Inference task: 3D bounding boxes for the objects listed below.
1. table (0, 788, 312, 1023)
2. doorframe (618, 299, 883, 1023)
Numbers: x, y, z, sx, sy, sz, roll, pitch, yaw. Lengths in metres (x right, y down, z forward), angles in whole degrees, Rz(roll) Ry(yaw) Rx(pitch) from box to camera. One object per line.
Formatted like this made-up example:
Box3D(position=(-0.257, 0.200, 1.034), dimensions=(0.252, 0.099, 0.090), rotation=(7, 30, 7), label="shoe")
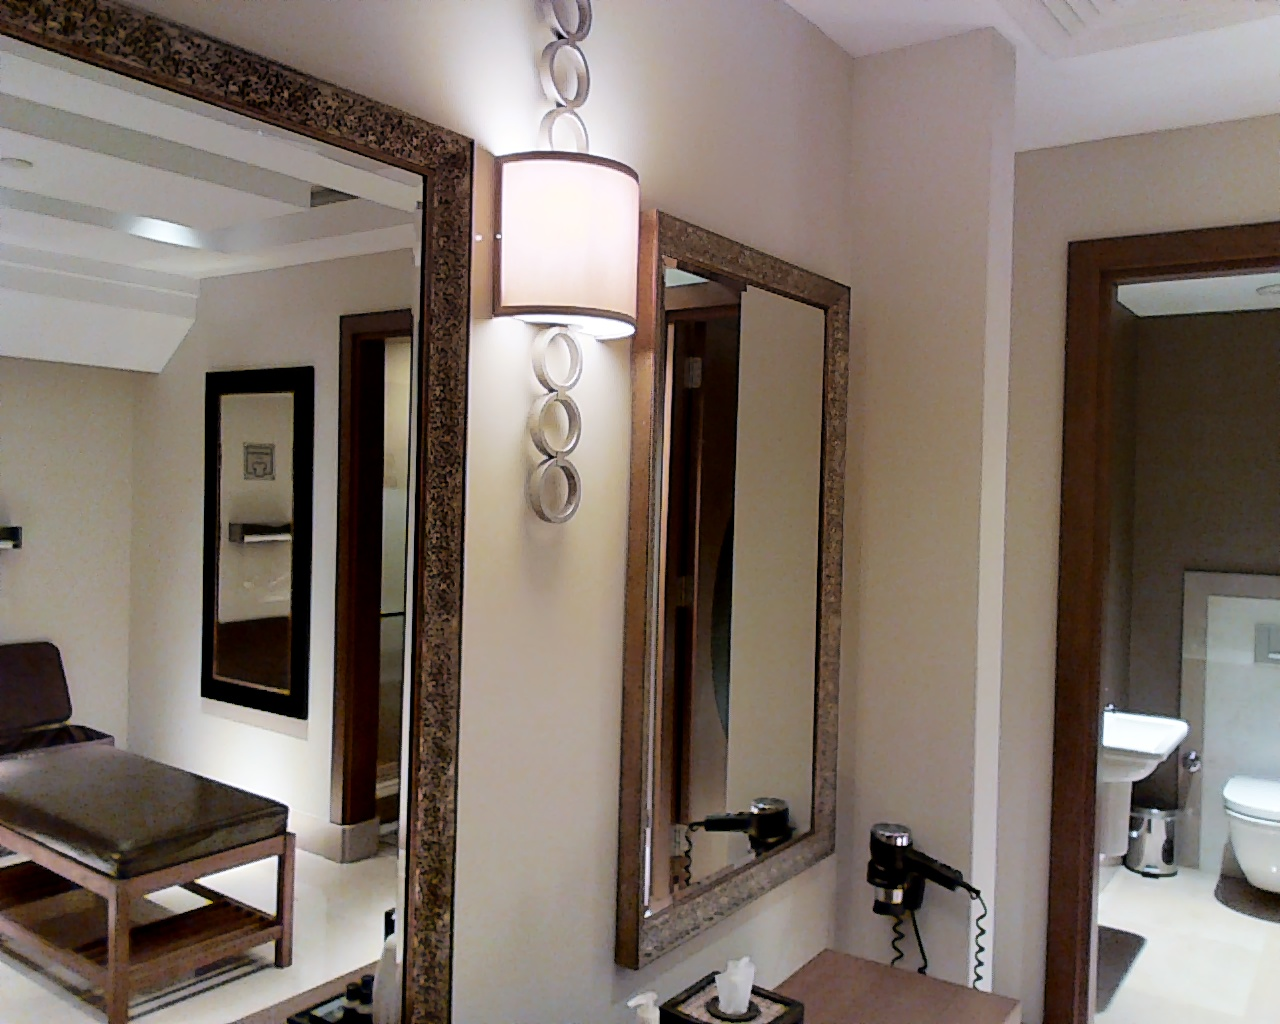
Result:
Box3D(position=(-1.620, 1.260, 3.150), dimensions=(1.230, 0.570, 0.640), rotation=(1, 0, 36), label="table")
Box3D(position=(0.330, 0.430, 3.430), dimensions=(0.830, 2.110, 0.160), rotation=(1, 0, 36), label="doorframe")
